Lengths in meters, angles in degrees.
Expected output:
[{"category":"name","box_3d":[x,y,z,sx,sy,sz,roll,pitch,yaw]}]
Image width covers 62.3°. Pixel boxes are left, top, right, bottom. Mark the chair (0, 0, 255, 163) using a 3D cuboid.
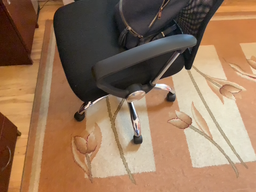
[{"category":"chair","box_3d":[0.010,-0.300,0.850,0.710,1.150,0.640,-19,63,-13]}]
